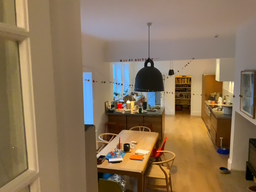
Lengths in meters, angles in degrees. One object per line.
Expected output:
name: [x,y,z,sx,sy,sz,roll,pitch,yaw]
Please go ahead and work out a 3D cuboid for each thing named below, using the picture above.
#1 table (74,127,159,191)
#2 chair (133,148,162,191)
table: [-0.050,1.270,4.070,1.020,0.760,2.000,1,8,16]
chair: [0.350,1.340,3.630,0.440,0.740,0.490,1,8,11]
